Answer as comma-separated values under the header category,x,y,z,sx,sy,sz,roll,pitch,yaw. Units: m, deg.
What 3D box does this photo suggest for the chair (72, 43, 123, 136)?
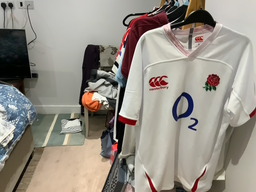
category,x,y,z,sx,sy,sz,roll,pitch,yaw
chair,-0.360,-0.100,2.500,0.490,0.940,0.580,-2,24,-9

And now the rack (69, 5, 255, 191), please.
category,x,y,z,sx,sy,sz,roll,pitch,yaw
rack,0.110,0.270,1.360,0.710,1.540,0.790,0,23,-5
